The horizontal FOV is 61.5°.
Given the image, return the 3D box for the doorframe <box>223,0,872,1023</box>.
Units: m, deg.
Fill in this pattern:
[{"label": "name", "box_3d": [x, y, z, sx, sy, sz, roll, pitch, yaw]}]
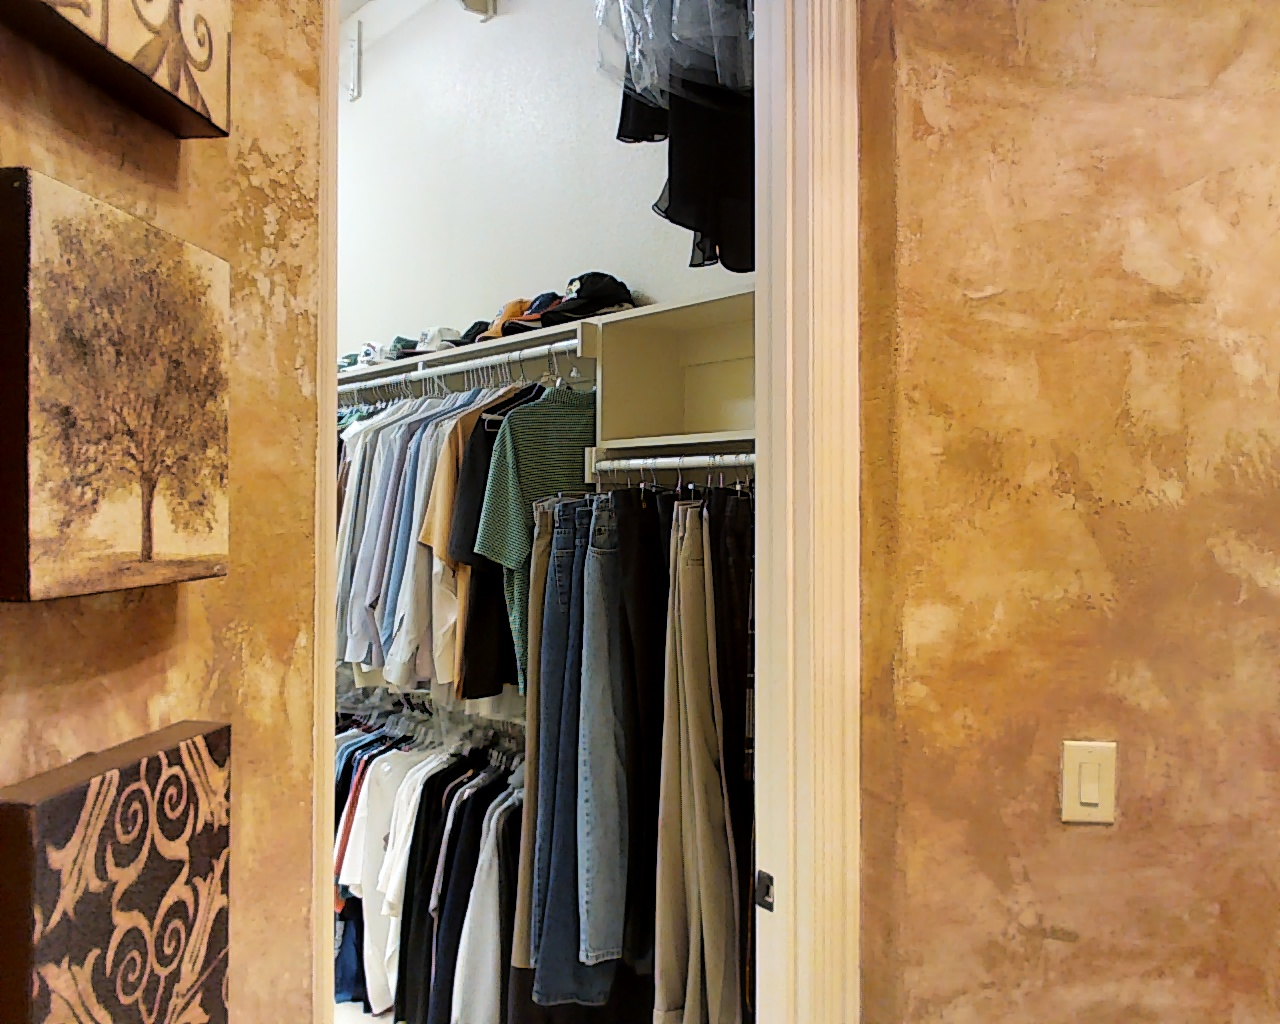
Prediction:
[{"label": "doorframe", "box_3d": [-0.070, 0.250, 1.490, 0.910, 2.621, 0.250, 1, -1, -39]}]
